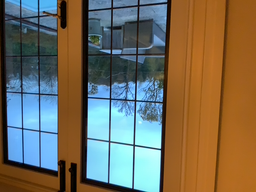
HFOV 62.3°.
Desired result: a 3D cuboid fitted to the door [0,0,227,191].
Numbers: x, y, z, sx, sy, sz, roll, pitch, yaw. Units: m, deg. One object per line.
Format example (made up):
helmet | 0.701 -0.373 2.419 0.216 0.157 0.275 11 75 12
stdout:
door | -0.340 -0.280 1.300 1.680 2.270 0.180 4 -174 19
